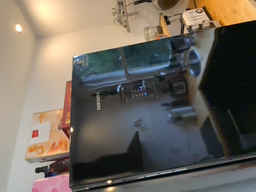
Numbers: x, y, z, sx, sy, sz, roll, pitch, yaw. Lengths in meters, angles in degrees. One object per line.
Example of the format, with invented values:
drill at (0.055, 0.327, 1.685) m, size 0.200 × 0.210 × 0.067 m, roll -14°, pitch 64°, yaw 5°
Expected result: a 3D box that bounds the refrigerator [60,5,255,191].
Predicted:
refrigerator at (0.710, 0.010, 1.060) m, size 0.680 × 1.850 × 0.590 m, roll 78°, pitch -179°, yaw -53°
